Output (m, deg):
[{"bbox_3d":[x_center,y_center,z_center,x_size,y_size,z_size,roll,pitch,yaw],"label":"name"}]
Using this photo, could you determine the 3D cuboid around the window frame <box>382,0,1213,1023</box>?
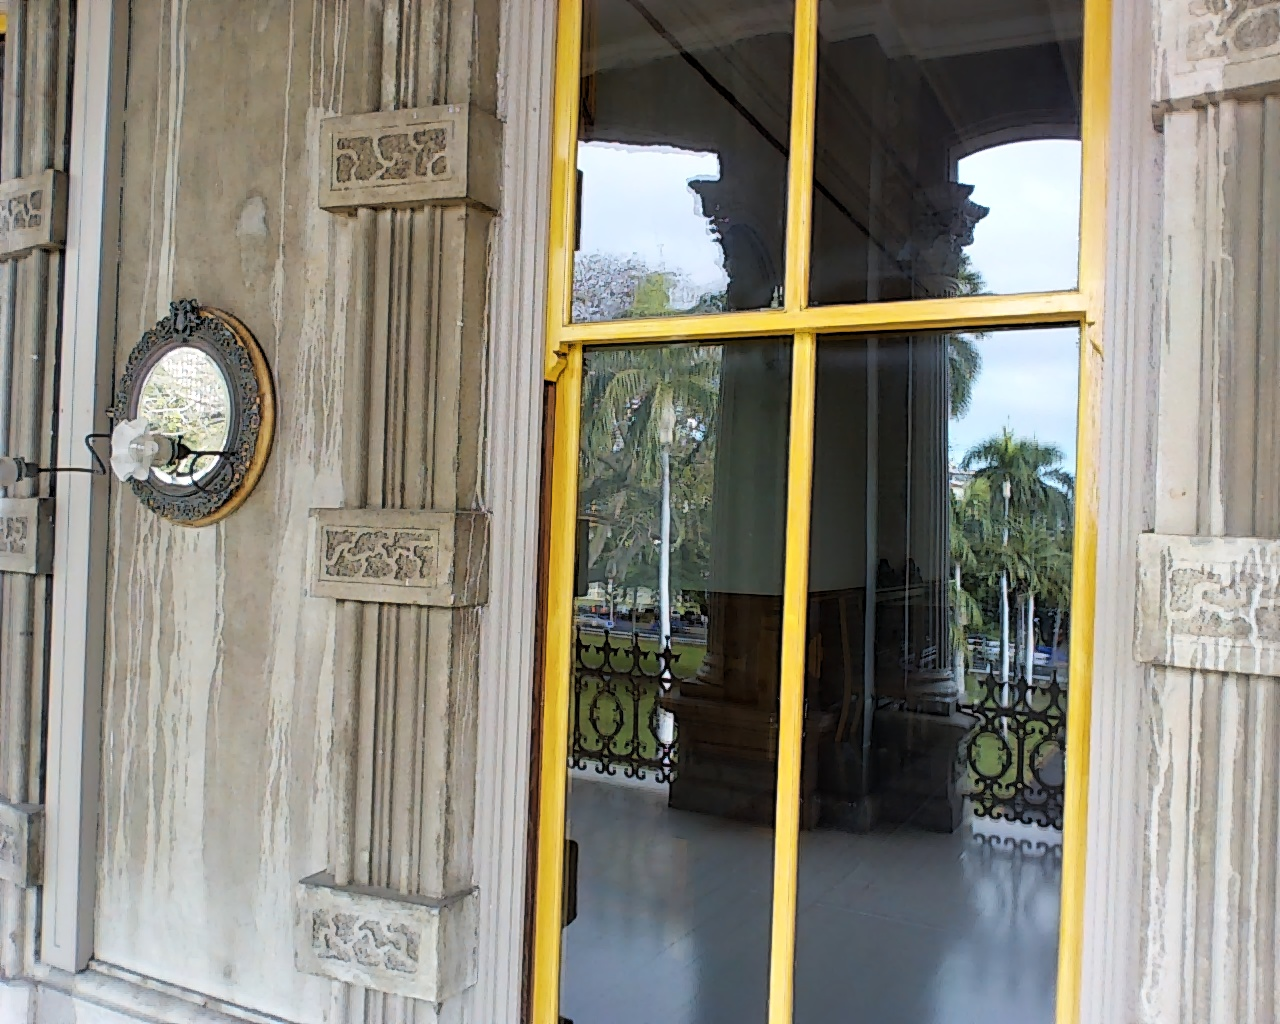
[{"bbox_3d":[0.260,-0.110,2.150,1.510,3.260,0.360,2,-1,27],"label":"window frame"}]
